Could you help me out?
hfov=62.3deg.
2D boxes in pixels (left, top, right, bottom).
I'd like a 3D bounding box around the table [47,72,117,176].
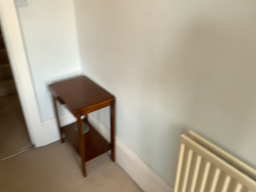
[{"bbox_3d":[-0.430,0.230,2.010,0.360,0.680,0.630,-19,34,-31],"label":"table"}]
